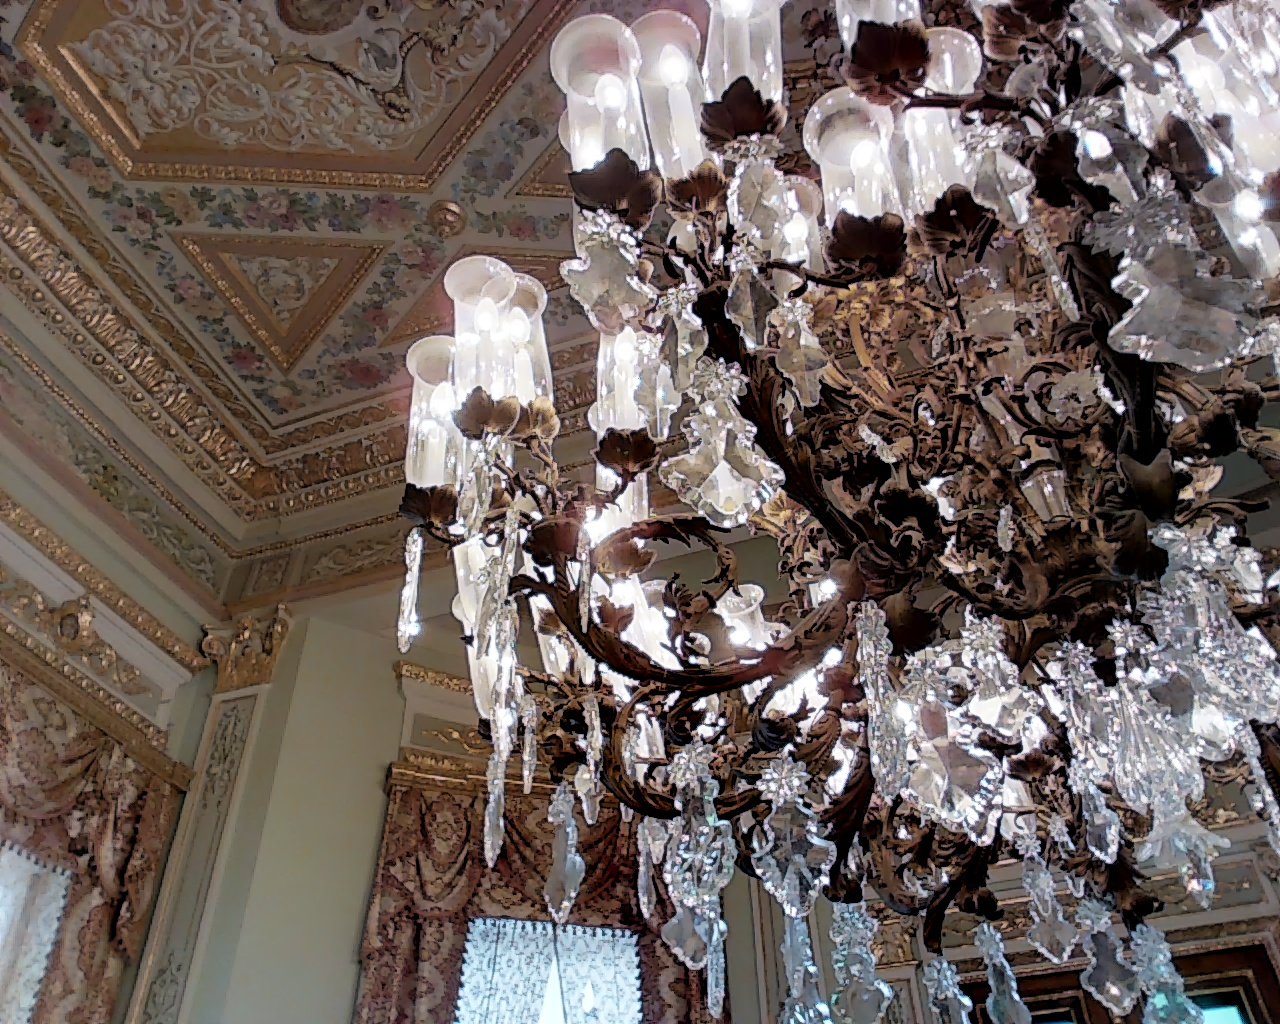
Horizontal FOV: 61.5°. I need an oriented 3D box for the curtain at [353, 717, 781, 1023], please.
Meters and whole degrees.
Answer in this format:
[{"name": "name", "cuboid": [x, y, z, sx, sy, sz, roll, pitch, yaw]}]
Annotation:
[{"name": "curtain", "cuboid": [-0.300, 3.062, 4.510, 2.029, 4.682, 0.130, 9, -42, -11]}]
